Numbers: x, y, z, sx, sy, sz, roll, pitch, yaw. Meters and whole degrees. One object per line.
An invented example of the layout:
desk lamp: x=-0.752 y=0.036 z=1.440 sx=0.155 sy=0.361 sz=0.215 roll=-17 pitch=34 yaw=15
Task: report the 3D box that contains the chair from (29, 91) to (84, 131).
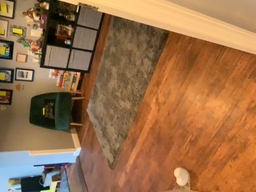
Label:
chair: x=-1.300 y=0.250 z=3.800 sx=0.770 sy=0.780 sz=0.620 roll=0 pitch=87 yaw=60
